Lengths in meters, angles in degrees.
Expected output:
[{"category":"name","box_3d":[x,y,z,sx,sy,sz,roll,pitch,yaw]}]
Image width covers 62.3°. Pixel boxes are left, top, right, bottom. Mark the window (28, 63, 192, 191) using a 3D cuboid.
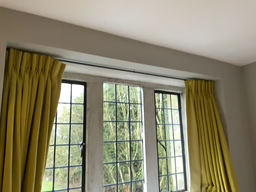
[{"category":"window","box_3d":[-0.050,0.390,1.920,1.510,1.180,0.090,5,-12,-28]}]
